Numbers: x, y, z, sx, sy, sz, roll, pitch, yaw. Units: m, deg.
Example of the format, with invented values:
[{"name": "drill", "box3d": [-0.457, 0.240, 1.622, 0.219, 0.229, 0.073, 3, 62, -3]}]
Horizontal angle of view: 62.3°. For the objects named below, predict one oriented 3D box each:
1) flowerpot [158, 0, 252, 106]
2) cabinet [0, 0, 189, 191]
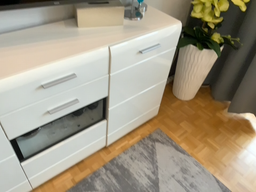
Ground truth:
[{"name": "flowerpot", "box3d": [0.600, -0.560, 1.790, 0.350, 1.350, 0.470, 1, 42, -8]}, {"name": "cabinet", "box3d": [-0.440, 0.060, 1.270, 1.670, 0.900, 0.410, -26, 52, -32]}]
